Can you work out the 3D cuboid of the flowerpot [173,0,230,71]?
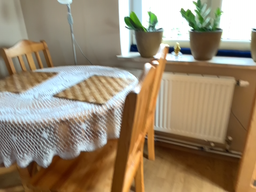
[{"bbox_3d":[0.510,-0.440,1.490,0.310,0.460,0.220,8,25,22],"label":"flowerpot"}]

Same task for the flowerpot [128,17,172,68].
[{"bbox_3d":[0.170,-0.420,1.630,0.280,0.340,0.210,6,25,19],"label":"flowerpot"}]
